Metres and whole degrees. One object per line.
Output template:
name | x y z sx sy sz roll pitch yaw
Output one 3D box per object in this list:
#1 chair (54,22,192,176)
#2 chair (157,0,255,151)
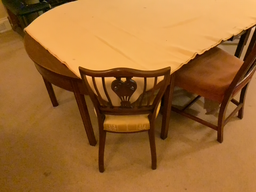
chair | -0.010 0.050 1.360 0.570 0.840 0.550 0 44 2
chair | 0.640 -0.190 1.530 0.560 0.920 0.530 34 54 31
